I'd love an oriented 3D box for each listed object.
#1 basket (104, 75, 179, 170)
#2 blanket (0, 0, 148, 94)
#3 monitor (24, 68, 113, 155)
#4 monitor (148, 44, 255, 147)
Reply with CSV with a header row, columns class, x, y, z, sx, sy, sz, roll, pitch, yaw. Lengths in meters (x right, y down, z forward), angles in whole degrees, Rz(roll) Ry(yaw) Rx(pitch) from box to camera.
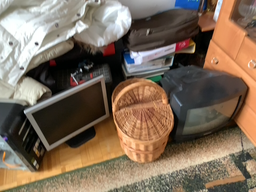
class,x,y,z,sx,sy,sz,roll,pitch,yaw
basket,0.050,0.130,1.120,0.270,0.260,0.370,-11,48,-9
blanket,-0.430,-0.320,1.040,0.950,0.360,0.400,-12,48,-10
monitor,-0.260,0.090,1.090,0.400,0.380,0.030,-29,53,-24
monitor,0.360,-0.010,1.180,0.380,0.350,0.360,-13,48,-10
